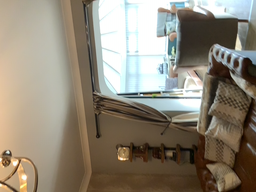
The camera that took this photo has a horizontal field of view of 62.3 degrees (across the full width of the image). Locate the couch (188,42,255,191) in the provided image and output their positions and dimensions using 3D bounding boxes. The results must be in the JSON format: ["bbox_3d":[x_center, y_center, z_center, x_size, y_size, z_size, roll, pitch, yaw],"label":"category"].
[{"bbox_3d":[1.260,0.440,2.400,0.970,0.730,1.910,-82,-7,-67],"label":"couch"}]

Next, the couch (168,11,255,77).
[{"bbox_3d":[1.180,-0.850,3.330,0.980,0.930,0.860,-81,-8,-70],"label":"couch"}]
